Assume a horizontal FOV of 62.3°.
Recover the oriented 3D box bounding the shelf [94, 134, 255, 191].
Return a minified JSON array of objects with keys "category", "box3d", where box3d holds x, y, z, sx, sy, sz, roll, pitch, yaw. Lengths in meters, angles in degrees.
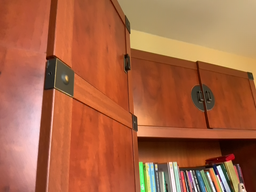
[{"category":"shelf","box3d":[0.390,0.810,1.140,1.030,1.120,0.470,5,-21,-25]}]
